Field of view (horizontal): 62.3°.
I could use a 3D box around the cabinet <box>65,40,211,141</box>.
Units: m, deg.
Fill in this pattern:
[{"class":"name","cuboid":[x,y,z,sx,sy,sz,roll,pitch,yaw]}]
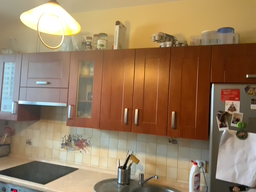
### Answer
[{"class":"cabinet","cuboid":[0.070,-0.060,1.930,1.240,0.740,0.330,2,-2,21]}]
